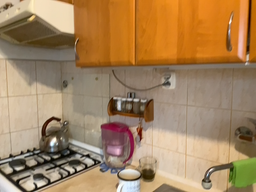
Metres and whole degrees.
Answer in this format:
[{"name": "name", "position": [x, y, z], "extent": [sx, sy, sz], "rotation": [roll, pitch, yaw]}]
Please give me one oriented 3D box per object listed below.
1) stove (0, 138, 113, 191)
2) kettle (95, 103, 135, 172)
[{"name": "stove", "position": [-0.530, 0.480, 1.370], "extent": [0.630, 0.160, 0.600], "rotation": [6, 8, 40]}, {"name": "kettle", "position": [-0.080, 0.240, 1.300], "extent": [0.200, 0.360, 0.140], "rotation": [6, 8, 40]}]
